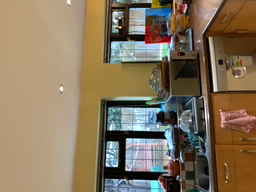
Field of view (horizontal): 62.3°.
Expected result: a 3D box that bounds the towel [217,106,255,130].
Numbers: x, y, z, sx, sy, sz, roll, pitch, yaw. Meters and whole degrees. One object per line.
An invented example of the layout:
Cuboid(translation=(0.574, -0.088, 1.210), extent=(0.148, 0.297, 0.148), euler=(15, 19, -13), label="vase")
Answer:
Cuboid(translation=(1.060, 0.210, 2.020), extent=(0.060, 0.370, 0.210), euler=(86, -175, -77), label="towel")

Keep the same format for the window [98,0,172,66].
Cuboid(translation=(0.110, -1.230, 3.230), extent=(0.100, 1.050, 1.580), euler=(85, -175, -77), label="window")
